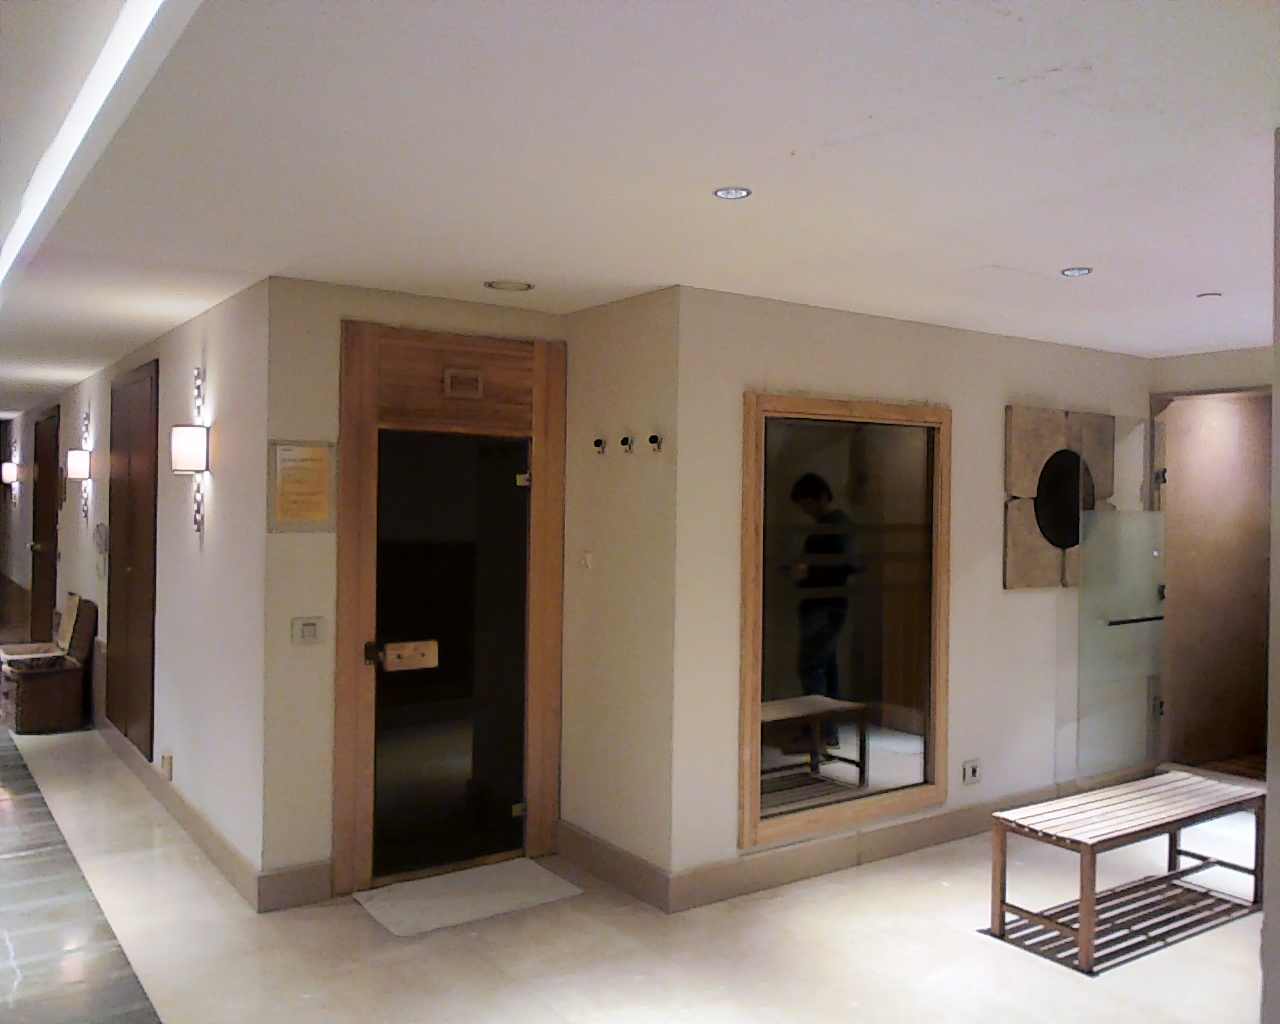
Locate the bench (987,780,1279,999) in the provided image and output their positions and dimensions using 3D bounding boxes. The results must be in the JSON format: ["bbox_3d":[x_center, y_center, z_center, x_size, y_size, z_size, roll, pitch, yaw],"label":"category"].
[{"bbox_3d":[1.930,1.390,4.120,1.230,0.470,0.480,1,0,-33],"label":"bench"}]
